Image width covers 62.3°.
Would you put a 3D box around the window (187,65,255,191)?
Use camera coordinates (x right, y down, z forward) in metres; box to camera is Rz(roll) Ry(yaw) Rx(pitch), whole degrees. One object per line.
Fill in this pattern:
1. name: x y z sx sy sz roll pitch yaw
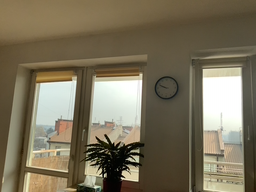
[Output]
1. window: 1.210 0.370 1.940 1.270 1.330 0.120 0 -9 18

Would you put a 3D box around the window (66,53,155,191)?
1. window: -0.190 0.260 2.430 0.920 1.400 0.250 -1 -9 22
